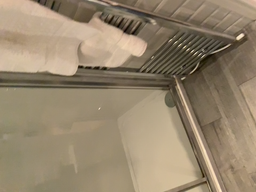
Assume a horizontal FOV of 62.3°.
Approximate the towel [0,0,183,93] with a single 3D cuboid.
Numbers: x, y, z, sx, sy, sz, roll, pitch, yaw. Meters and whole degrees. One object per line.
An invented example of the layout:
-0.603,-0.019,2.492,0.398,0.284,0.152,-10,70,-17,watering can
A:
-0.310,-0.180,0.700,0.410,0.950,0.180,-38,61,48,towel
